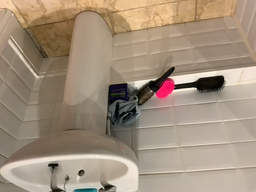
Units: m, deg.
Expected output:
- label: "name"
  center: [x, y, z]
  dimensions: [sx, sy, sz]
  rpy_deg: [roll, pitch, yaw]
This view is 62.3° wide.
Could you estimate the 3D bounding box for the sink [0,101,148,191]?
- label: "sink"
  center: [-0.180, 0.210, 0.740]
  dimensions: [0.460, 0.160, 0.350]
  rpy_deg: [-7, 143, 6]
